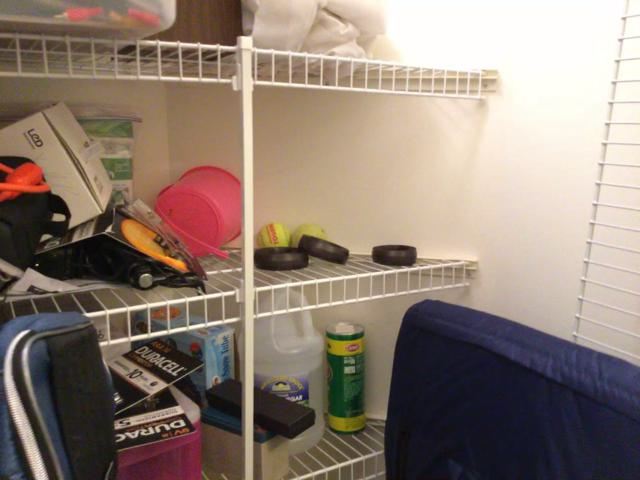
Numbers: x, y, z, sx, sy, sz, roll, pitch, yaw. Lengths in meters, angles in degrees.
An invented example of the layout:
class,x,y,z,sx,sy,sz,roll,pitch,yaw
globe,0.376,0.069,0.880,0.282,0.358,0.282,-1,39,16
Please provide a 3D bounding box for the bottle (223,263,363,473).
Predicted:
class,x,y,z,sx,sy,sz,roll,pitch,yaw
bottle,-0.050,0.210,1.020,0.180,0.290,0.170,-7,14,-31
